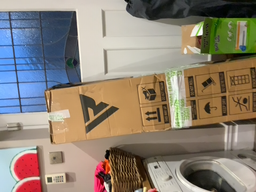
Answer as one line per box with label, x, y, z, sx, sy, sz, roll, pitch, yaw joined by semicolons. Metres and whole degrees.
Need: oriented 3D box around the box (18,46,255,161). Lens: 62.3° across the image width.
box;0.230;0.020;1.220;0.530;1.430;0.460;152;115;-82
